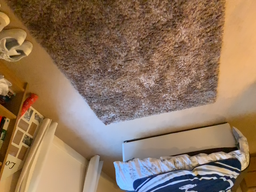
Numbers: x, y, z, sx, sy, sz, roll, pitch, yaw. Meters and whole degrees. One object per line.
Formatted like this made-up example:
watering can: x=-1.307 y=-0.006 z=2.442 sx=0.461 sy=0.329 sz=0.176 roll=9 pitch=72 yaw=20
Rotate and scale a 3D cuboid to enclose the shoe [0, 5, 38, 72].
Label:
shoe: x=-0.830 y=-0.360 z=1.380 sx=0.260 sy=0.110 sz=0.420 roll=-11 pitch=144 yaw=9
